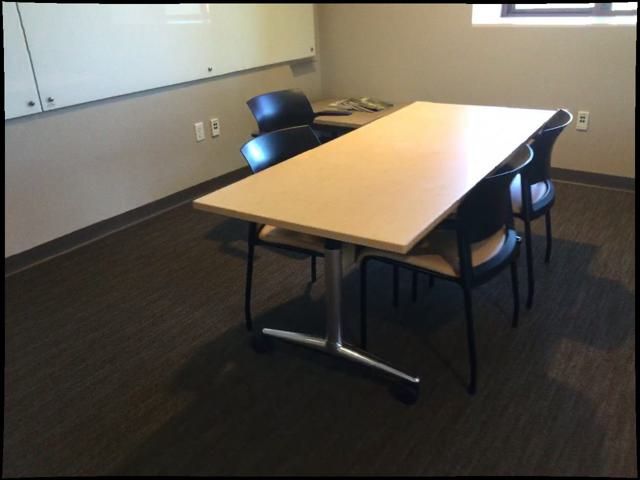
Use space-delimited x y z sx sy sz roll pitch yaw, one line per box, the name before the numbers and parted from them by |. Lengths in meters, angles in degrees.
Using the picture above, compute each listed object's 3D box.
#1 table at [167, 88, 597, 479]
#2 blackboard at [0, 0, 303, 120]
table | 0.439 -0.080 2.550 0.998 0.782 1.899 14 29 31
blackboard | -0.928 -1.514 3.500 0.080 1.062 2.689 14 29 31
